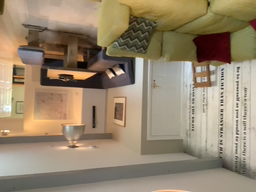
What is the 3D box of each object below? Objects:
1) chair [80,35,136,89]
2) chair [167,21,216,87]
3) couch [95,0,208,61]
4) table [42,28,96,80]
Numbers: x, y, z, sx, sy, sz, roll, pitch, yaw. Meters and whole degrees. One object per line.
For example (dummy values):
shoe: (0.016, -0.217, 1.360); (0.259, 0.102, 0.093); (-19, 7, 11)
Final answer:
chair: (-0.620, -0.720, 5.380); (0.690, 0.970, 2.220); (3, 179, -25)
chair: (1.110, -0.680, 3.720); (0.640, 1.000, 0.480); (2, 179, -22)
couch: (0.200, -0.900, 2.500); (0.920, 0.730, 1.040); (2, 179, -22)
table: (-1.350, -0.850, 4.770); (0.970, 0.790, 1.410); (2, 179, -19)
